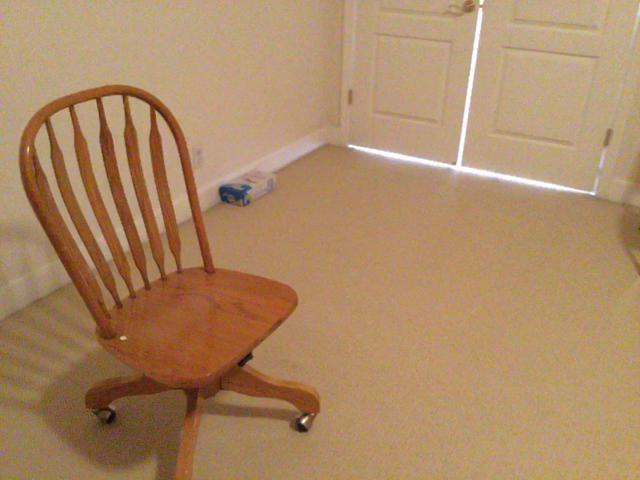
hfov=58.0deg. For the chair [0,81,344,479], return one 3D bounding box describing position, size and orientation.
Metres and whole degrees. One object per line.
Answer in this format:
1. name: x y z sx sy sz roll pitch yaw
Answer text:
1. chair: -0.310 0.140 1.490 0.530 0.930 0.610 11 30 24
